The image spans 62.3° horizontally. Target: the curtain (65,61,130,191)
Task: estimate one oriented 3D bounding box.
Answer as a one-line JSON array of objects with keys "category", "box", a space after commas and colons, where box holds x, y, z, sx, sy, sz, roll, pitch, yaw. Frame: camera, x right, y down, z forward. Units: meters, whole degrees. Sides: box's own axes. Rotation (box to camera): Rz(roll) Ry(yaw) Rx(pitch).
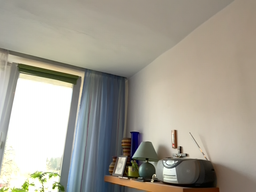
[{"category": "curtain", "box": [-0.300, 0.620, 2.170, 0.550, 1.940, 0.190, 12, -20, -27]}]
